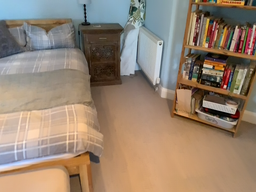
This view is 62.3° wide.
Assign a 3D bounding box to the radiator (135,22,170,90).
[{"bbox_3d":[0.310,-0.610,3.080,0.160,0.720,0.860,-7,32,-13],"label":"radiator"}]

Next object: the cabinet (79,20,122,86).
[{"bbox_3d":[-0.400,-0.640,3.110,0.520,0.810,0.470,-7,32,-14],"label":"cabinet"}]
